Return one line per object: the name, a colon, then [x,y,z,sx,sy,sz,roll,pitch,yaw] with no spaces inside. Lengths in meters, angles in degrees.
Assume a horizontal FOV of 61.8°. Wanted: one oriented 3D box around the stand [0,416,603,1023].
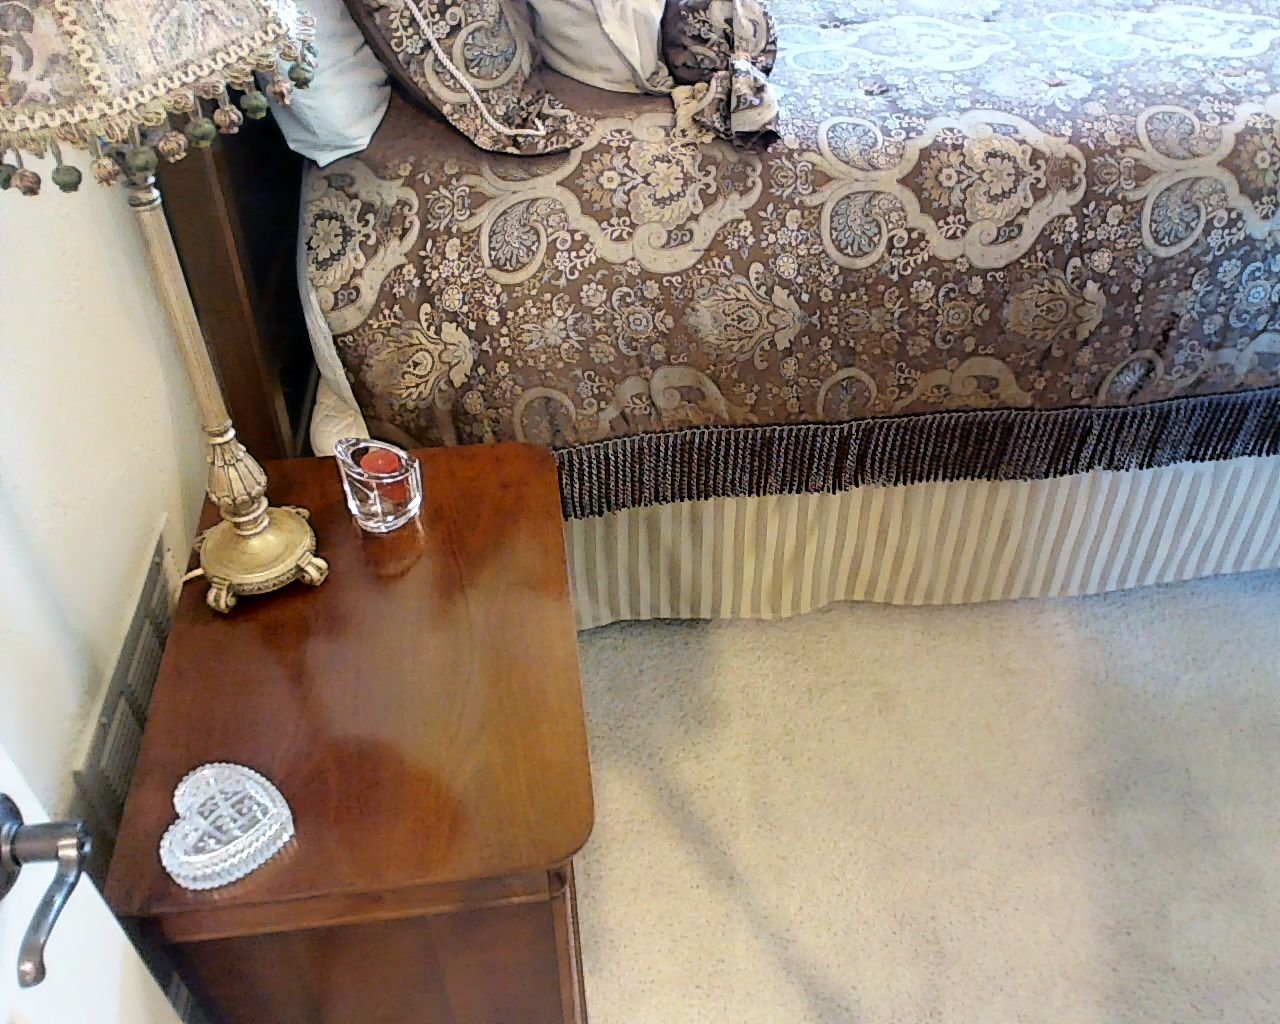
stand: [-0.330,0.370,1.410,0.520,0.700,0.670,-4,42,-4]
